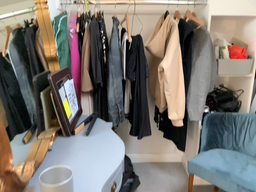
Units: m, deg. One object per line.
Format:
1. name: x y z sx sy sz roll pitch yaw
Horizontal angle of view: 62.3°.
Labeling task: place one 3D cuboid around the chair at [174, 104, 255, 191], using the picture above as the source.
1. chair: 0.700 0.490 1.400 0.520 0.690 0.540 -12 20 -40
